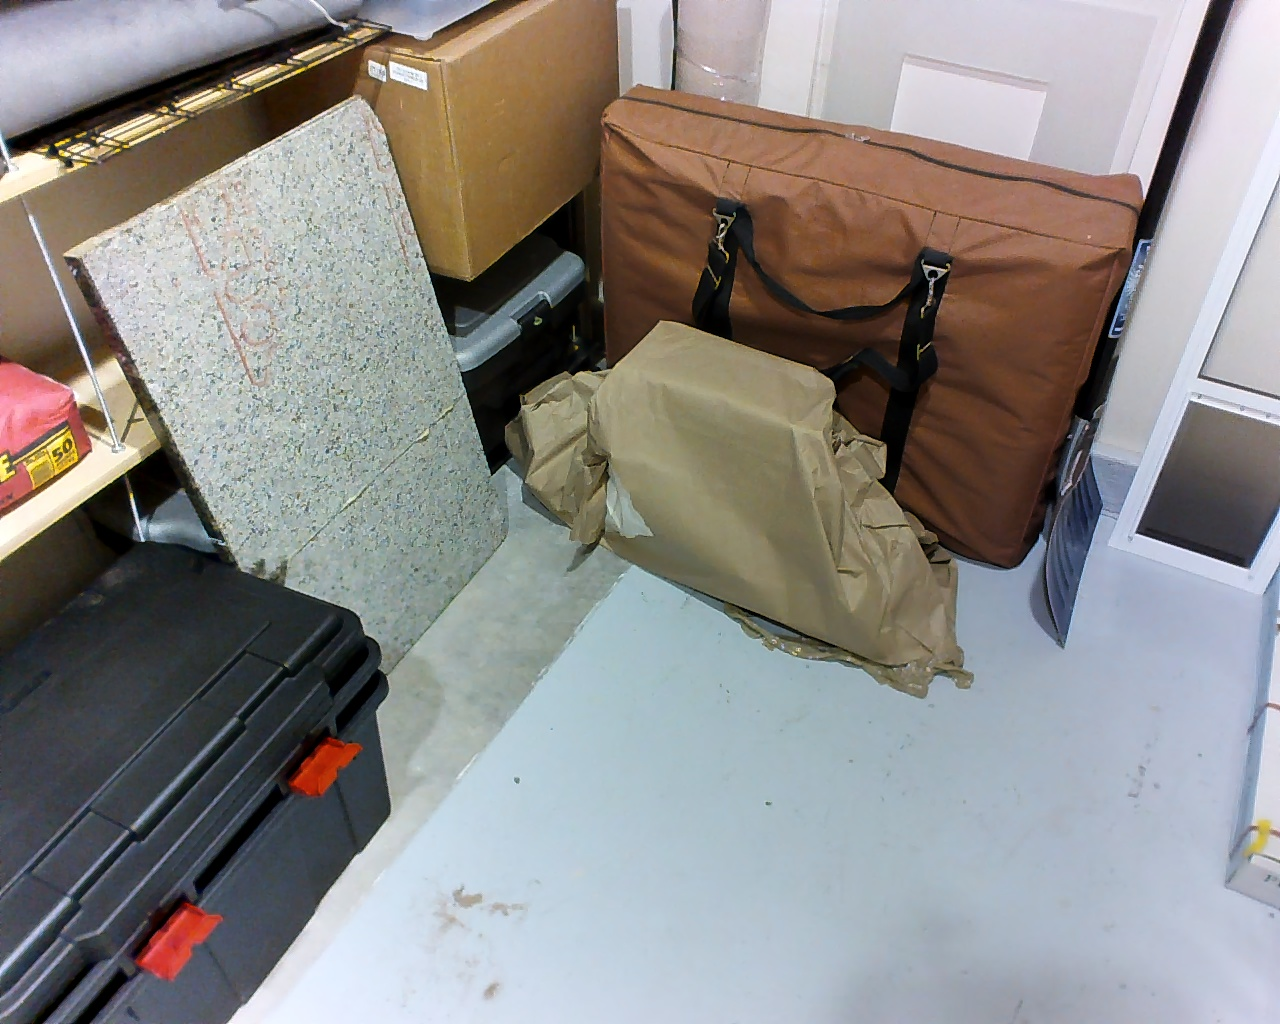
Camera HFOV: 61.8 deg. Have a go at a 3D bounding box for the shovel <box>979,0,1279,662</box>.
[{"bbox_3d":[0.810,-0.370,1.680,0.160,1.270,0.470,20,45,21],"label":"shovel"}]
